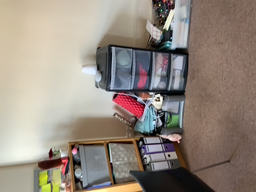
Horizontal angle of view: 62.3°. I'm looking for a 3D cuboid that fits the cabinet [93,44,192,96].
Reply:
[{"bbox_3d":[0.120,-0.220,1.990,0.460,0.780,0.390,-167,79,-65],"label":"cabinet"}]
